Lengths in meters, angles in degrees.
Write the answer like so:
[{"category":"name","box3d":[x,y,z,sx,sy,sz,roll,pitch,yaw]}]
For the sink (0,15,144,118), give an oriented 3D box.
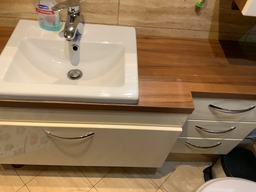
[{"category":"sink","box3d":[-0.220,-0.130,0.840,0.530,0.120,0.410,3,52,-5]}]
